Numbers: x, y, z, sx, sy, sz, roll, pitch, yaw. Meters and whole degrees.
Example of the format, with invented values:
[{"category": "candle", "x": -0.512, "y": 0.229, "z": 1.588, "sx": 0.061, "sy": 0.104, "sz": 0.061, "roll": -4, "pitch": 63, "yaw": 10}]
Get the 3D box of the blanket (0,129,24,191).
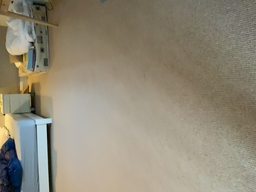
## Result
[{"category": "blanket", "x": -2.030, "y": 1.190, "z": 3.460, "sx": 1.190, "sy": 0.390, "sz": 1.080, "roll": 4, "pitch": 96, "yaw": 55}]
